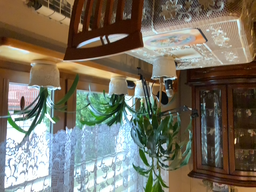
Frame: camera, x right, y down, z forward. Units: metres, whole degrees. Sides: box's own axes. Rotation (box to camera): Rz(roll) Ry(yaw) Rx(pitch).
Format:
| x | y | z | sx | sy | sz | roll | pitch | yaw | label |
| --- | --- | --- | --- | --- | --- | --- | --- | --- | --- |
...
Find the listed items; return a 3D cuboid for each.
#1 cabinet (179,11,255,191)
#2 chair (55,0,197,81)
| x | y | z | sx | sy | sz | roll | pitch | yaw | label |
| --- | --- | --- | --- | --- | --- | --- | --- | --- | --- |
| 1.310 | 0.070 | 2.840 | 1.070 | 2.070 | 0.620 | -1 | 177 | 30 | cabinet |
| 0.030 | -0.600 | 1.030 | 0.420 | 0.980 | 0.560 | -1 | 177 | 37 | chair |
